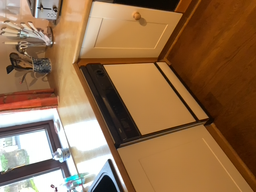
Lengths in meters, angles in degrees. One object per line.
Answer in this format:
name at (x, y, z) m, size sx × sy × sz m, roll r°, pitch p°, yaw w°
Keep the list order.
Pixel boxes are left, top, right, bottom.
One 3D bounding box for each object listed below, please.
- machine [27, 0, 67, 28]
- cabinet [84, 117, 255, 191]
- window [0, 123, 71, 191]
machine at (-0.560, -0.660, 1.450) m, size 0.250 × 0.180 × 0.260 m, roll 63°, pitch 142°, yaw 26°
cabinet at (0.300, 0.620, 1.340) m, size 0.600 × 0.870 × 0.610 m, roll 60°, pitch 140°, yaw 30°
window at (-0.880, 0.590, 1.540) m, size 0.730 × 0.780 × 0.070 m, roll 62°, pitch 141°, yaw 28°
